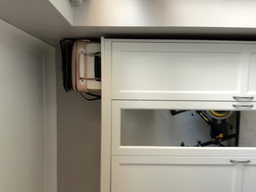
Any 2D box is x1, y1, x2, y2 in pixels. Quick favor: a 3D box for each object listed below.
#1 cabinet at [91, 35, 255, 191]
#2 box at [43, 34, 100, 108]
[{"bbox_3d":[0.700,0.230,1.760,0.640,1.910,1.290,-121,31,-85],"label":"cabinet"},{"bbox_3d":[-0.420,-0.200,1.710,0.470,0.340,0.510,-110,21,-82],"label":"box"}]
